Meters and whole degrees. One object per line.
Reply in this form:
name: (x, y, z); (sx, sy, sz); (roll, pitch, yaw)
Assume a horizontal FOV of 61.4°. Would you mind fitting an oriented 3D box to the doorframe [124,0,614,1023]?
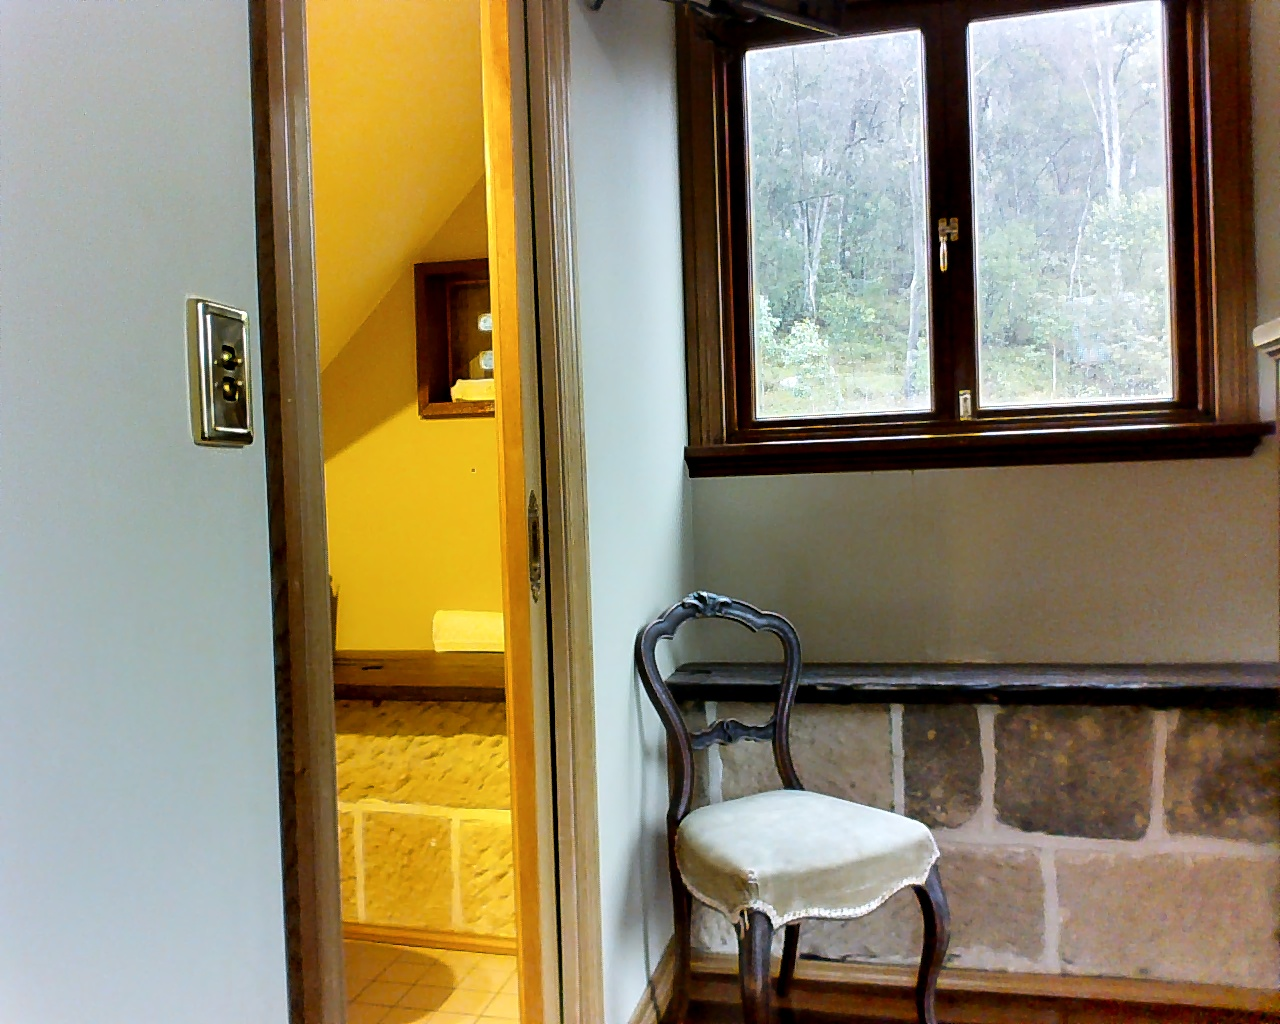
doorframe: (-0.270, 0.090, 1.410); (0.200, 2.111, 0.820); (-1, 2, 15)
